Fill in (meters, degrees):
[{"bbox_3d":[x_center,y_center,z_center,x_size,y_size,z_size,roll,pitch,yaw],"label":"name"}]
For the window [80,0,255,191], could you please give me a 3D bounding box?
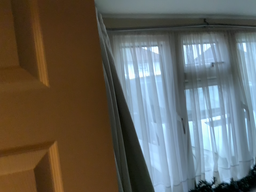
[{"bbox_3d":[0.630,0.060,1.540,1.750,1.380,0.160,-7,1,-19],"label":"window"}]
